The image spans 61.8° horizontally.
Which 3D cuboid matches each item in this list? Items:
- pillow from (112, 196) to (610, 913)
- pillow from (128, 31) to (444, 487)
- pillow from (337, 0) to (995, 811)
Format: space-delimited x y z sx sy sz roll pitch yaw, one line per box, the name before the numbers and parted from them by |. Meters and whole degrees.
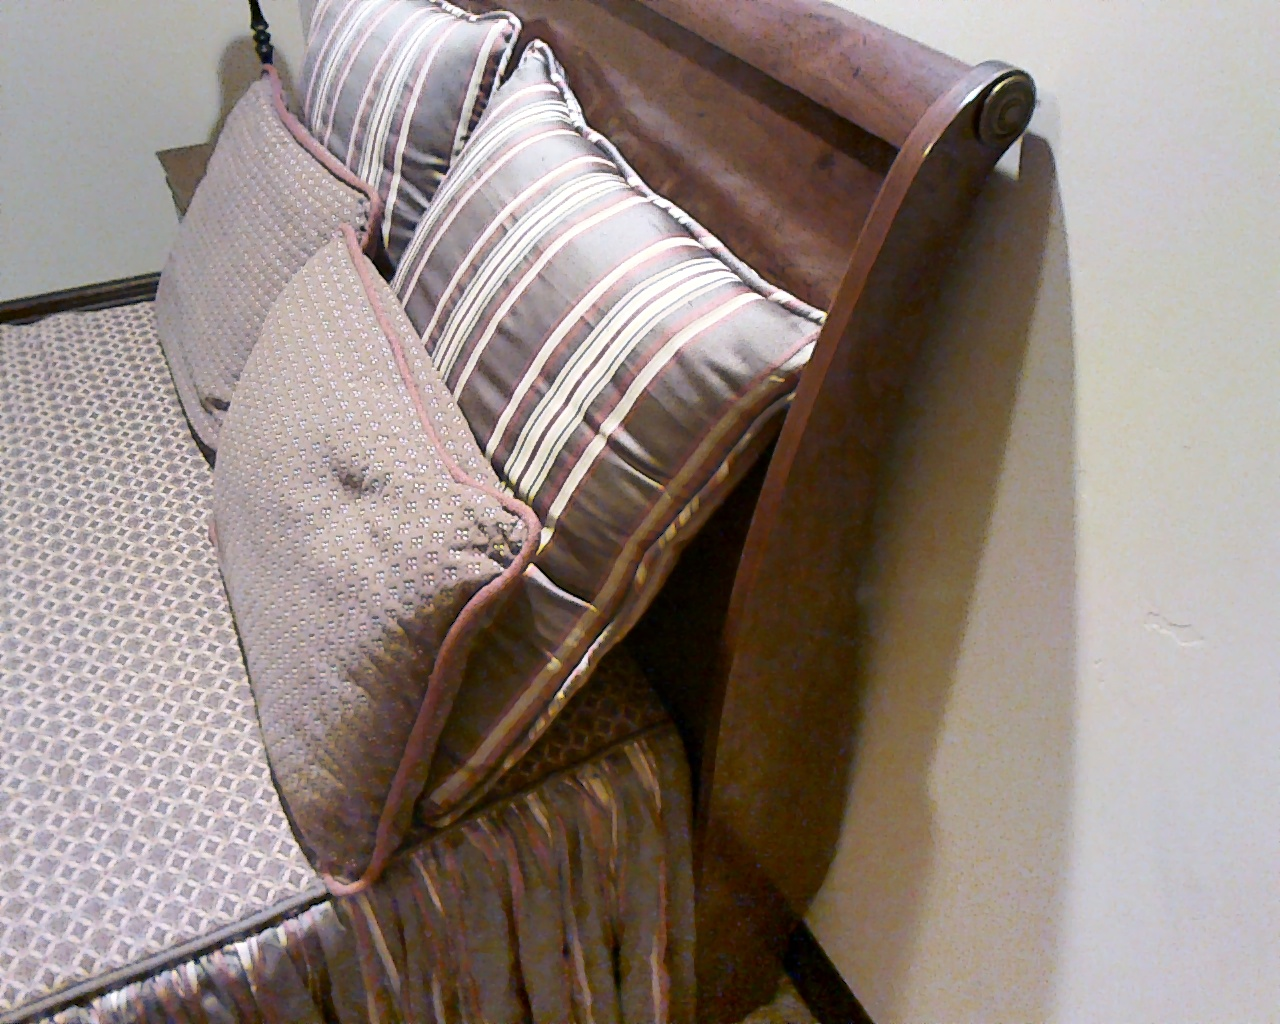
pillow | -0.350 0.010 1.140 0.210 0.410 0.650 9 30 -40
pillow | -0.540 -0.410 1.610 0.240 0.390 0.660 -18 44 -22
pillow | -0.080 -0.190 1.140 0.280 0.580 0.740 -10 41 -28
